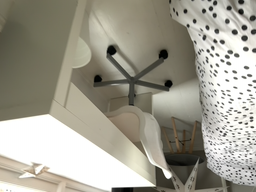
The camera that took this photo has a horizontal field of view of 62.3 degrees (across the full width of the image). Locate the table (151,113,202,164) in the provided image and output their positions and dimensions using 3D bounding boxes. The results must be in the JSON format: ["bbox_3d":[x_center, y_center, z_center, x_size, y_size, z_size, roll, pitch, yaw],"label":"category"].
[{"bbox_3d":[0.560,0.510,2.450,0.490,0.410,0.490,-8,149,17],"label":"table"}]
